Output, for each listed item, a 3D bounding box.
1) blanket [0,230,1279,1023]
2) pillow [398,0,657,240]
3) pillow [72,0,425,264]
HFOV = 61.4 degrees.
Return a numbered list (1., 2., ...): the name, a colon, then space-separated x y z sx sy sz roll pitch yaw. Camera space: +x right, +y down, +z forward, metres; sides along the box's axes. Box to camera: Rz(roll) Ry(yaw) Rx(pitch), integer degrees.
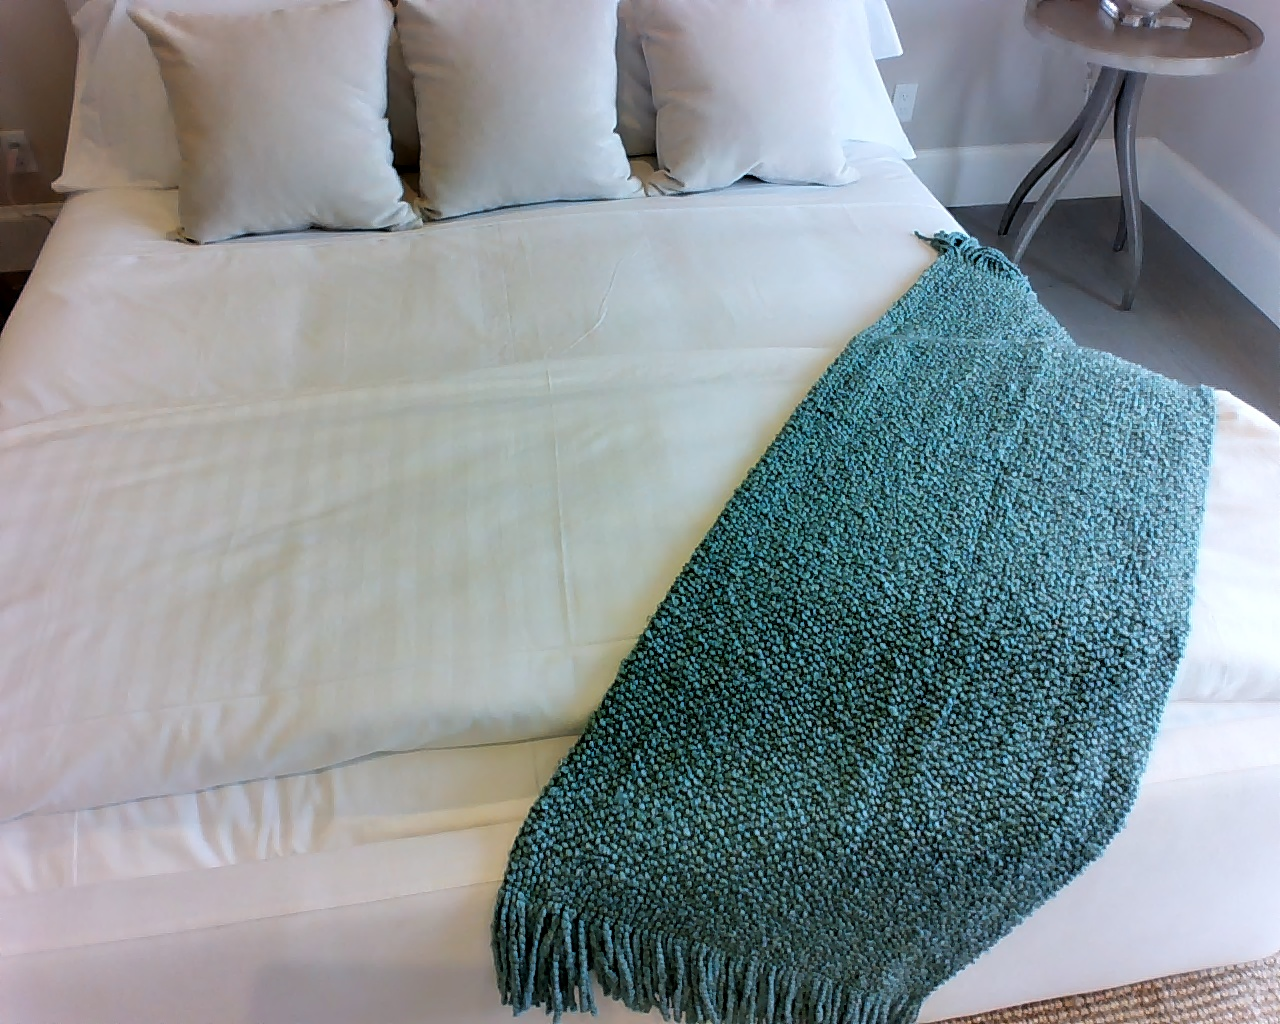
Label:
1. blanket: -0.080 0.230 1.580 2.210 0.720 0.970 -7 43 -8
2. pillow: -0.230 -0.820 2.180 0.450 0.430 0.260 -8 62 -9
3. pillow: -0.730 -0.780 2.120 0.540 0.450 0.320 -6 64 -7
